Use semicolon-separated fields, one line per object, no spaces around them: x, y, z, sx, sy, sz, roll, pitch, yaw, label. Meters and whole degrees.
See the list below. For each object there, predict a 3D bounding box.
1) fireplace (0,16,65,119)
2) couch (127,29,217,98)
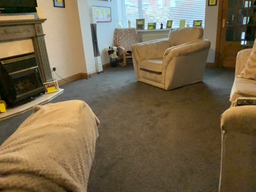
-1.640;-0.480;3.040;0.510;1.210;1.300;8;22;27;fireplace
0.730;-0.690;3.850;0.970;0.950;1.220;-14;23;-28;couch
